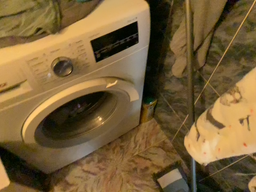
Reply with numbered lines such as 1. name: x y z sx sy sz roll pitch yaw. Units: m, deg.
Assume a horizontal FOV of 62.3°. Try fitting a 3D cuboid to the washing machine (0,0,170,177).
1. washing machine: -0.290 -0.110 0.980 0.590 0.860 0.580 -24 63 -14
